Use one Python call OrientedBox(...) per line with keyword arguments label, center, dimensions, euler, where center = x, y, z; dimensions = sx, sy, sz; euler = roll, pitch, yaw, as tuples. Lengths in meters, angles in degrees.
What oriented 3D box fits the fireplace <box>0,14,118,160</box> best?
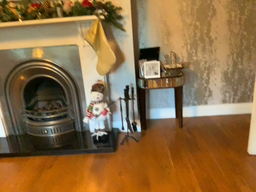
OrientedBox(label="fireplace", center=(-0.910, -0.110, 2.120), dimensions=(1.500, 1.180, 0.750), euler=(-4, 18, 1))
